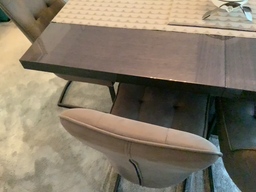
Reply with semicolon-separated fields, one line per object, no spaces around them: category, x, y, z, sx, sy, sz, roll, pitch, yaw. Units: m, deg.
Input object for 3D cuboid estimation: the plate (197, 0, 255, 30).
plate;0.440;-0.410;0.920;0.250;0.110;0.240;6;52;10
